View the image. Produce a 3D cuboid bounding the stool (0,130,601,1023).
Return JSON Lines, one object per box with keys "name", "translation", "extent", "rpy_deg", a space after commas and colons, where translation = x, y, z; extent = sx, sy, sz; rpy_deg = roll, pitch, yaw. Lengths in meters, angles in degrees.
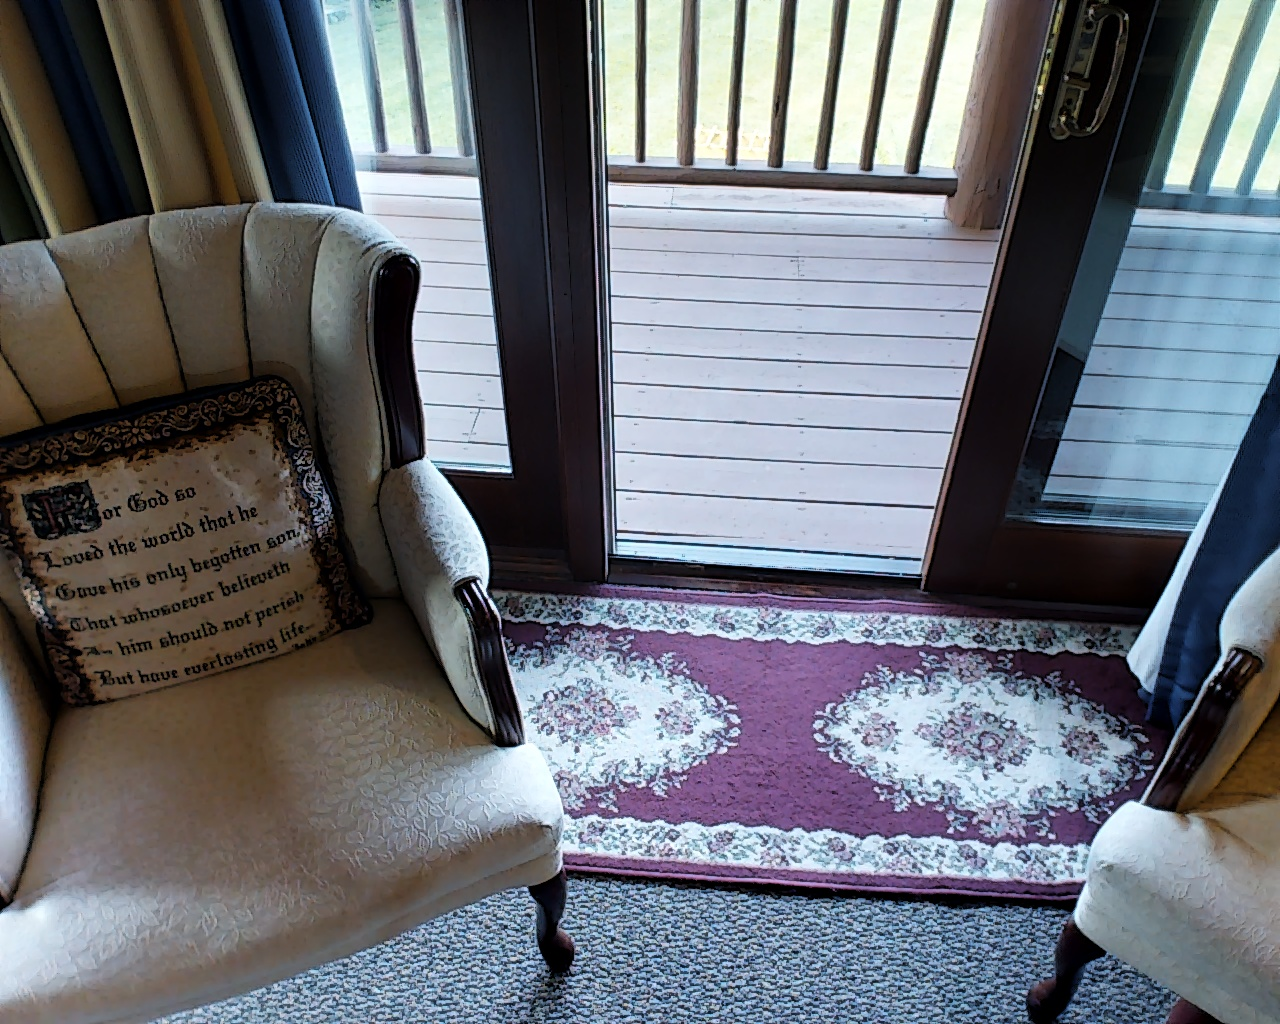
{"name": "stool", "translation": [-0.550, 0.190, 1.390], "extent": [0.750, 0.980, 0.760], "rpy_deg": [-16, 45, -17]}
